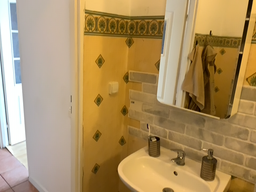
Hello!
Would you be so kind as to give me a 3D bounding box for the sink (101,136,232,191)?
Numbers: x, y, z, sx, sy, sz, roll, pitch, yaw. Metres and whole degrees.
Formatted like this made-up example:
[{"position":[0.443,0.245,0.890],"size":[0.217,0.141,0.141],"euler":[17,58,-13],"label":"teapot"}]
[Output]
[{"position":[0.200,0.470,1.190],"size":[0.580,0.190,0.410],"euler":[17,20,38],"label":"sink"}]
